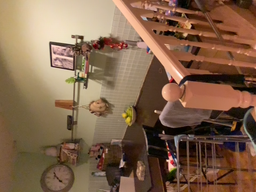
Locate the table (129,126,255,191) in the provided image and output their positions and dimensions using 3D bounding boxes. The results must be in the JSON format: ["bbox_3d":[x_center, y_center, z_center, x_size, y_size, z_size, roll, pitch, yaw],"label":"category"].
[{"bbox_3d":[0.580,0.940,2.010,0.800,0.890,0.990,108,162,-46],"label":"table"}]
